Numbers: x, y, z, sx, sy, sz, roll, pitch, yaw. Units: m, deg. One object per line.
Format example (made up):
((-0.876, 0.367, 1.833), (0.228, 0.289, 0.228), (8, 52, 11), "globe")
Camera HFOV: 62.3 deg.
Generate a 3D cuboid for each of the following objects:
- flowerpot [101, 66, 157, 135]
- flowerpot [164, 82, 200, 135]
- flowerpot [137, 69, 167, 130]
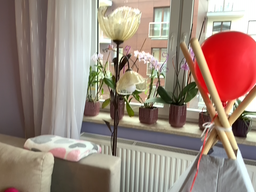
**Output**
((0.010, 0.020, 1.910), (0.420, 0.540, 0.250), (6, 12, 19), "flowerpot")
((0.440, 0.090, 1.730), (0.240, 0.380, 0.150), (6, 12, 19), "flowerpot")
((0.200, 0.020, 1.800), (0.190, 0.480, 0.160), (6, 12, 19), "flowerpot")
